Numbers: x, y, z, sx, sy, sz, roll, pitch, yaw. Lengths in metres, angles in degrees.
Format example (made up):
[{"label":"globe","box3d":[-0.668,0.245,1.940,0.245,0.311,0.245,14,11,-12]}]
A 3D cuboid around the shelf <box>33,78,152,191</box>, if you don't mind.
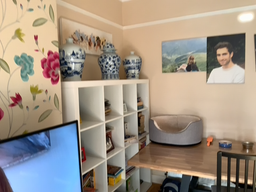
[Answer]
[{"label":"shelf","box3d":[-0.220,0.560,2.420,0.450,1.490,1.550,0,5,27]}]
